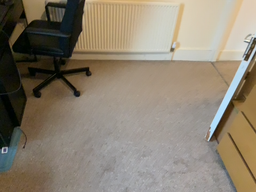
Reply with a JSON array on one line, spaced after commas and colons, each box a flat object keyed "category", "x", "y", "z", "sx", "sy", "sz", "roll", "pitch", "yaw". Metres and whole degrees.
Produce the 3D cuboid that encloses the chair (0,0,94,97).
[{"category": "chair", "x": -0.720, "y": -0.630, "z": 1.990, "sx": 0.730, "sy": 1.090, "sz": 0.690, "roll": 0, "pitch": 42, "yaw": -7}]
